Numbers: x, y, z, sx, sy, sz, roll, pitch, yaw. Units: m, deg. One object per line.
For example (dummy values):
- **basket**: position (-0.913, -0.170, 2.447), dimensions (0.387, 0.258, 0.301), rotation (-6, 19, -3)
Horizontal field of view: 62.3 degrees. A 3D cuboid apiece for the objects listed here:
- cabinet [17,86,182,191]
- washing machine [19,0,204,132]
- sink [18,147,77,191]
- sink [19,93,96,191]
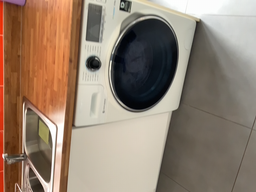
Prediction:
- **cabinet**: position (-0.240, 0.610, 1.580), dimensions (0.640, 0.900, 1.220), rotation (23, 110, 44)
- **washing machine**: position (-0.110, -0.250, 1.350), dimensions (0.670, 0.890, 0.580), rotation (23, 110, 44)
- **sink**: position (-0.520, 0.540, 1.310), dimensions (0.540, 0.140, 0.190), rotation (23, 110, 44)
- **sink**: position (-0.450, 0.250, 1.260), dimensions (0.540, 0.210, 0.400), rotation (23, 110, 44)
